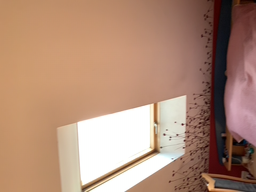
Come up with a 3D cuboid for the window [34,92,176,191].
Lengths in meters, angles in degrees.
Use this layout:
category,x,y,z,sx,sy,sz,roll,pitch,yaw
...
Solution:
category,x,y,z,sx,sy,sz,roll,pitch,yaw
window,-0.080,0.420,1.990,1.360,0.410,0.770,-9,-80,-47
